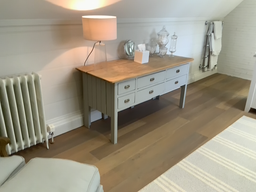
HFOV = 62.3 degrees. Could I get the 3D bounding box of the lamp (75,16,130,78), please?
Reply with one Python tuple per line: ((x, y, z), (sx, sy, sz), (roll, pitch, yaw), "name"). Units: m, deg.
((-0.270, -0.530, 2.190), (0.320, 0.540, 0.480), (-17, 28, -38), "lamp")
